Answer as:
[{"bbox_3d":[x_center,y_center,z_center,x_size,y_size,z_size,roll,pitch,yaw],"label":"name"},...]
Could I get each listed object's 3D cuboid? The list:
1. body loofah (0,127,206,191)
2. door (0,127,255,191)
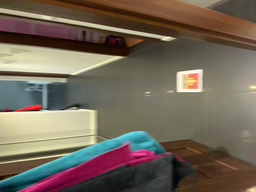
[{"bbox_3d":[-0.190,0.340,1.160,0.560,1.120,0.200,-6,86,60],"label":"body loofah"},{"bbox_3d":[0.000,0.470,1.240,1.050,2.190,0.140,12,101,59],"label":"door"}]
